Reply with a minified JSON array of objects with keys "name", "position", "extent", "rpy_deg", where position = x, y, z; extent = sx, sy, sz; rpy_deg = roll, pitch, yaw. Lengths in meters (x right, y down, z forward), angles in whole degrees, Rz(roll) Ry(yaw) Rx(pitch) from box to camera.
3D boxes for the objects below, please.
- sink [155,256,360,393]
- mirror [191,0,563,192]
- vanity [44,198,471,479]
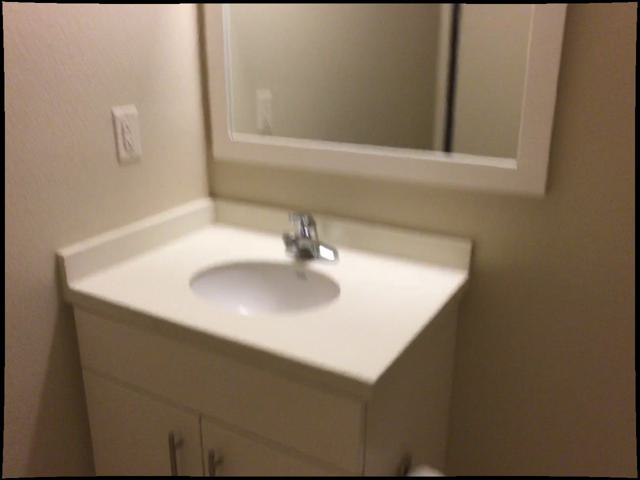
[{"name":"sink","position":[-0.140,0.180,1.390],"extent":[0.369,0.150,0.320],"rpy_deg":[9,18,26]},{"name":"mirror","position":[0.080,-0.592,1.380],"extent":[0.938,0.862,0.070],"rpy_deg":[9,21,27]},{"name":"vanity","position":[-0.120,0.471,1.500],"extent":[0.808,0.972,0.580],"rpy_deg":[9,21,27]}]
